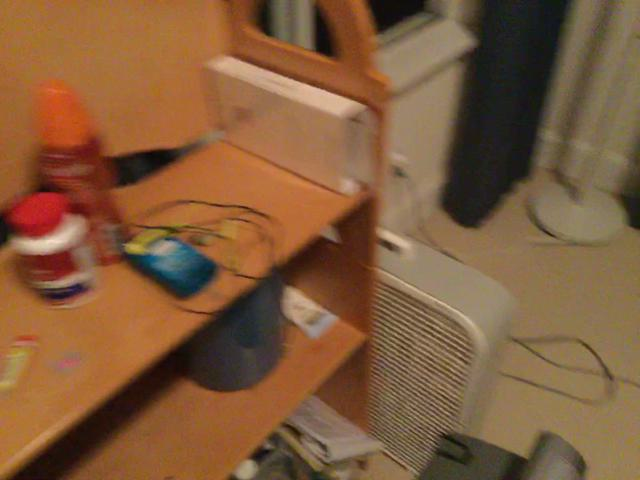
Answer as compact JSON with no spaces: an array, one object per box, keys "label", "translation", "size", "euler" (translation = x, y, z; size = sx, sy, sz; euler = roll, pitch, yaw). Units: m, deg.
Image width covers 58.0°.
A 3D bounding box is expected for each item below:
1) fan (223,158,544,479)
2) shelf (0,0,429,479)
[{"label":"fan","translation":[0.110,0.190,1.190],"size":[0.560,0.550,0.190],"euler":[27,50,34]},{"label":"shelf","translation":[-0.230,0.170,0.810],"size":[0.420,1.060,0.700],"euler":[27,50,34]}]
